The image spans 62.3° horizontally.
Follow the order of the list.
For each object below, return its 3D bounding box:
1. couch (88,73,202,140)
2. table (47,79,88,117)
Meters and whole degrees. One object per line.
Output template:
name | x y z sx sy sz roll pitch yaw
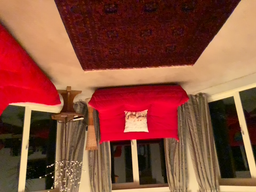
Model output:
couch | 0.230 0.250 3.790 1.690 0.860 1.060 -4 163 -1
table | -1.010 0.050 3.640 0.520 0.480 0.570 -4 163 -1
